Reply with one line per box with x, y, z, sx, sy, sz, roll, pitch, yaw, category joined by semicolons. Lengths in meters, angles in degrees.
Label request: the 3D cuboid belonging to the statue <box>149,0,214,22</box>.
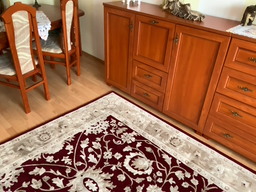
0.470;-0.780;1.900;0.470;0.090;0.290;29;40;34;statue
